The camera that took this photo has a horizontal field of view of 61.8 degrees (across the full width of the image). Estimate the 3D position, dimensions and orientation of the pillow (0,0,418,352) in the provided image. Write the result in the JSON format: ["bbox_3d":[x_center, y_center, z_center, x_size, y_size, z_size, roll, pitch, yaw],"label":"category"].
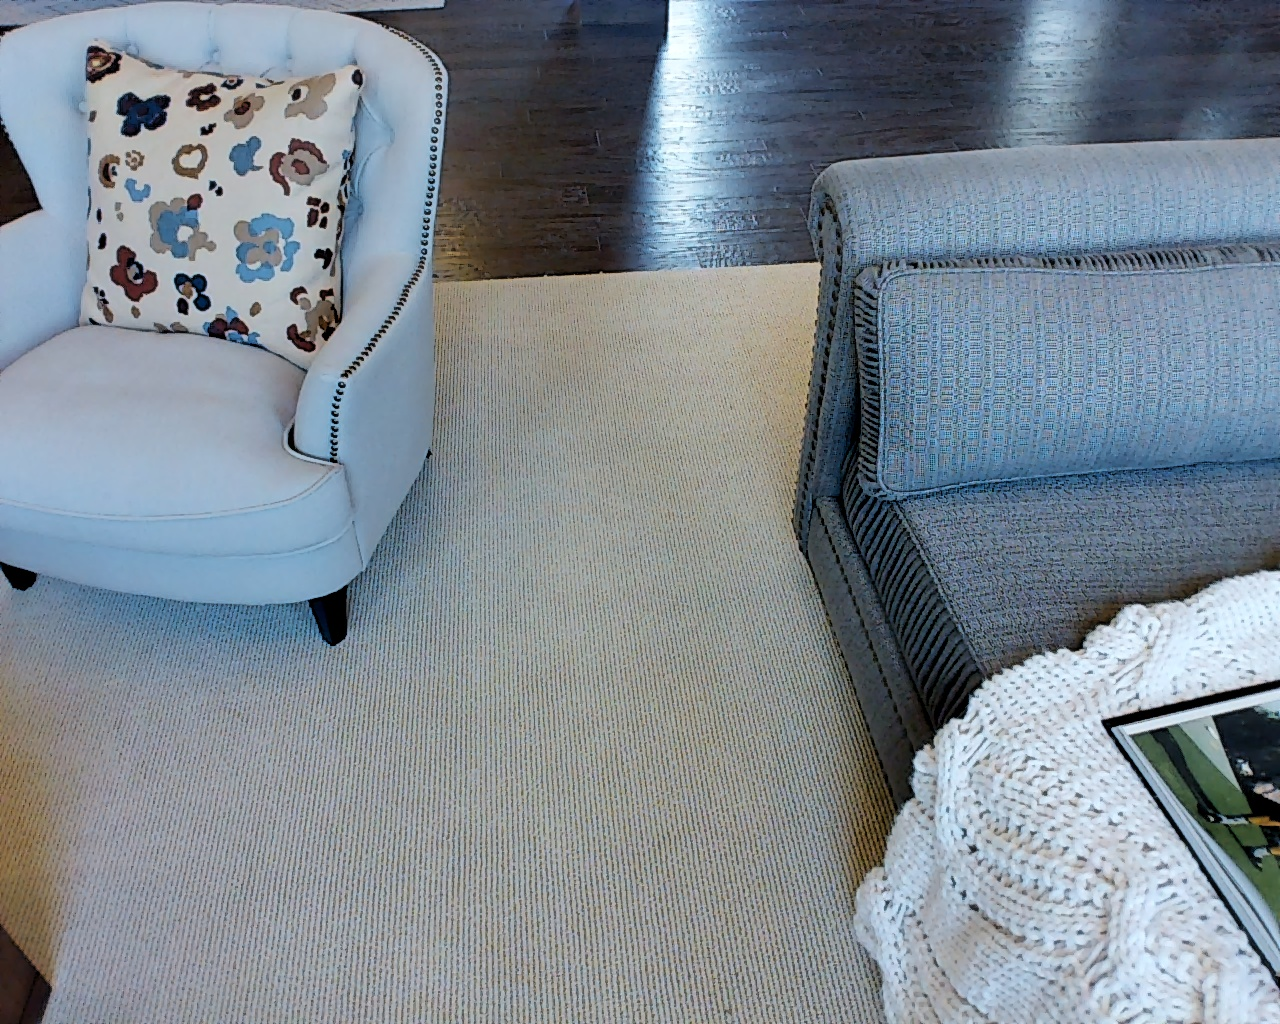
[{"bbox_3d":[-0.730,-0.540,1.800,0.570,0.160,0.400,-14,-44,35],"label":"pillow"}]

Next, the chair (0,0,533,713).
[{"bbox_3d":[-0.770,-0.340,1.860,0.880,0.810,0.910,9,43,10],"label":"chair"}]
